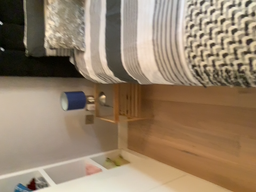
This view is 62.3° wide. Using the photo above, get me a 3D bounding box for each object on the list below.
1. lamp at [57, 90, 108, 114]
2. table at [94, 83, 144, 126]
[{"bbox_3d":[-0.390,0.040,1.820,0.220,0.370,0.160,7,98,52],"label":"lamp"},{"bbox_3d":[-0.090,0.060,2.060,0.290,0.390,0.370,7,98,52],"label":"table"}]
